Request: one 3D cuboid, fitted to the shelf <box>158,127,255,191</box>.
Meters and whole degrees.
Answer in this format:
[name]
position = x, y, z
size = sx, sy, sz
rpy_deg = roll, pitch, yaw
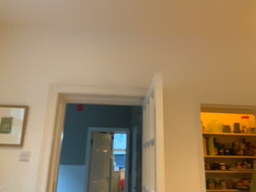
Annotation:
[shelf]
position = 1.540, 1.460, 3.200
size = 2.100, 1.860, 0.340
rpy_deg = 3, -15, -4
